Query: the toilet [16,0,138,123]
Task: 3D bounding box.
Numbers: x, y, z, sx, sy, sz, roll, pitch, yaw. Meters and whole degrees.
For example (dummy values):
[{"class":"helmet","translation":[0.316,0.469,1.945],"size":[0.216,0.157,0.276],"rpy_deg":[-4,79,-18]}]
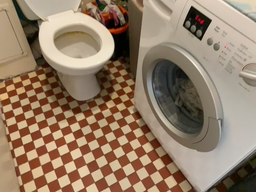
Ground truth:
[{"class":"toilet","translation":[-0.330,-0.420,1.180],"size":[0.410,0.820,0.730],"rpy_deg":[-23,58,-20]}]
